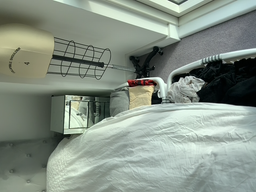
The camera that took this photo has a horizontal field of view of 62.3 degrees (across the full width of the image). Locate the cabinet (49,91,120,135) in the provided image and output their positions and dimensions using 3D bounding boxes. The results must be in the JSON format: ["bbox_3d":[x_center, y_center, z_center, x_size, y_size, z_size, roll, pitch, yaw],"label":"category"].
[{"bbox_3d":[-0.420,0.170,2.050,0.420,0.530,0.360,-8,80,52],"label":"cabinet"}]
